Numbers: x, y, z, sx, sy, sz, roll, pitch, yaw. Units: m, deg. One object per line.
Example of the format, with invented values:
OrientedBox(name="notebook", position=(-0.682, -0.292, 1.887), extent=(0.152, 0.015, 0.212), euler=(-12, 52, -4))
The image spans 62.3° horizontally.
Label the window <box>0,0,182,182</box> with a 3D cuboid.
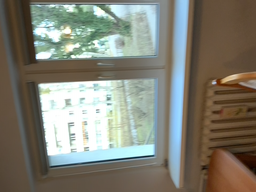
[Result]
OrientedBox(name="window", position=(-0.240, -0.490, 1.550), extent=(0.160, 1.250, 2.370), euler=(-120, 27, -70))
